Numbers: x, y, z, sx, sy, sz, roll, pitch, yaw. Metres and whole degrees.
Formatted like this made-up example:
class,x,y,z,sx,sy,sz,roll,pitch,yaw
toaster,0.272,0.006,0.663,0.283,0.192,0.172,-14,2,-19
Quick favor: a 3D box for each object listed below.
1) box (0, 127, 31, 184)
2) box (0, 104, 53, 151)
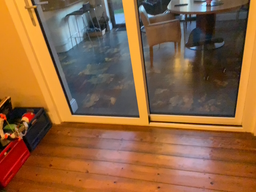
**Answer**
class,x,y,z,sx,sy,sz,roll,pitch,yaw
box,-1.090,0.500,1.820,0.230,0.300,0.340,0,32,15
box,-1.090,0.310,2.190,0.380,0.270,0.390,2,33,17
